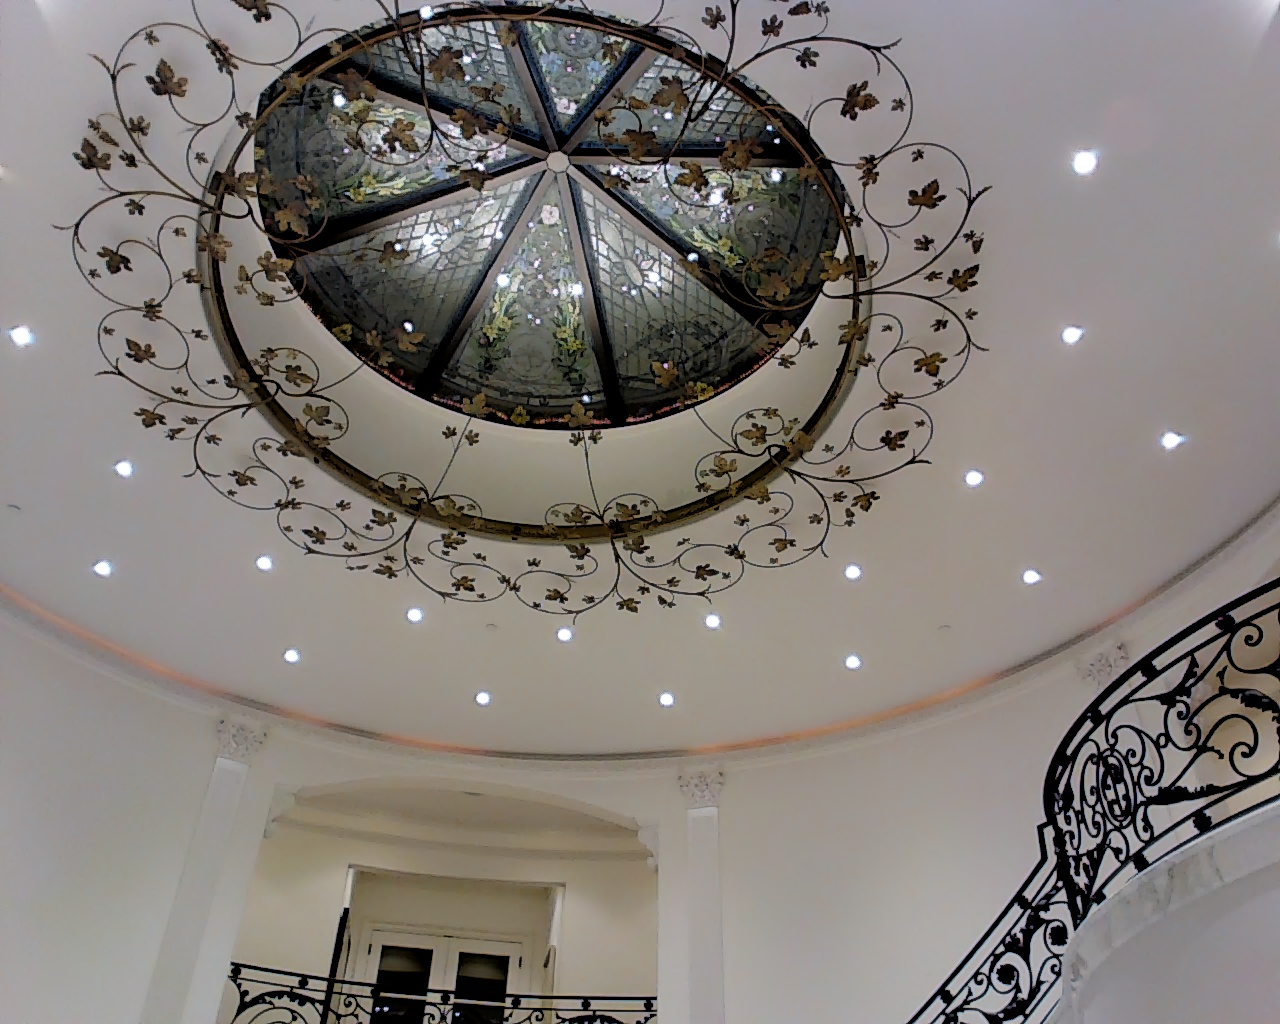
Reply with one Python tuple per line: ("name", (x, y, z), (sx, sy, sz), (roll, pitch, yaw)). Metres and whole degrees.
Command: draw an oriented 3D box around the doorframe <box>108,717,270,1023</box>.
("doorframe", (-3.709, 3.241, 8.640), (0.330, 2.851, 1.380), (24, -45, -24))
